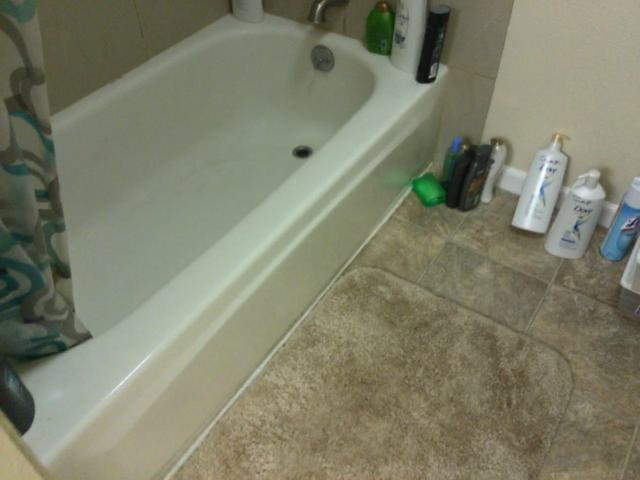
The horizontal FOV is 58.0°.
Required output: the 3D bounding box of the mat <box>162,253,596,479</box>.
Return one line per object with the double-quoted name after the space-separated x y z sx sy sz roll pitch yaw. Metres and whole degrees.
0.120 0.460 1.250 0.660 0.050 0.970 24 49 24 "mat"
